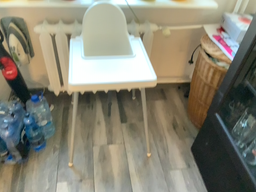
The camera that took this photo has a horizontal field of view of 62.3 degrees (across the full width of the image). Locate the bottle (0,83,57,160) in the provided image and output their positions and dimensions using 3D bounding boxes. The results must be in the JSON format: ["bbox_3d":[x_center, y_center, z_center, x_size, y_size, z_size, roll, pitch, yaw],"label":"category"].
[{"bbox_3d":[-0.720,0.160,1.490,0.350,0.260,0.460,-2,45,-9],"label":"bottle"}]

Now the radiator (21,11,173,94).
[{"bbox_3d":[-0.210,-0.300,1.650,0.980,0.630,0.140,-1,44,-8],"label":"radiator"}]
